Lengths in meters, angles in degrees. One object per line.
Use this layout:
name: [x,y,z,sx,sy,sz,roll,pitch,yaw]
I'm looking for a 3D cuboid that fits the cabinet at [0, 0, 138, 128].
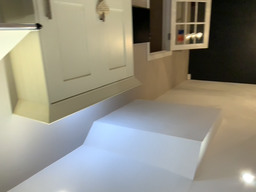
cabinet: [-0.370,-0.420,1.690,0.330,0.900,1.200,7,-161,30]
